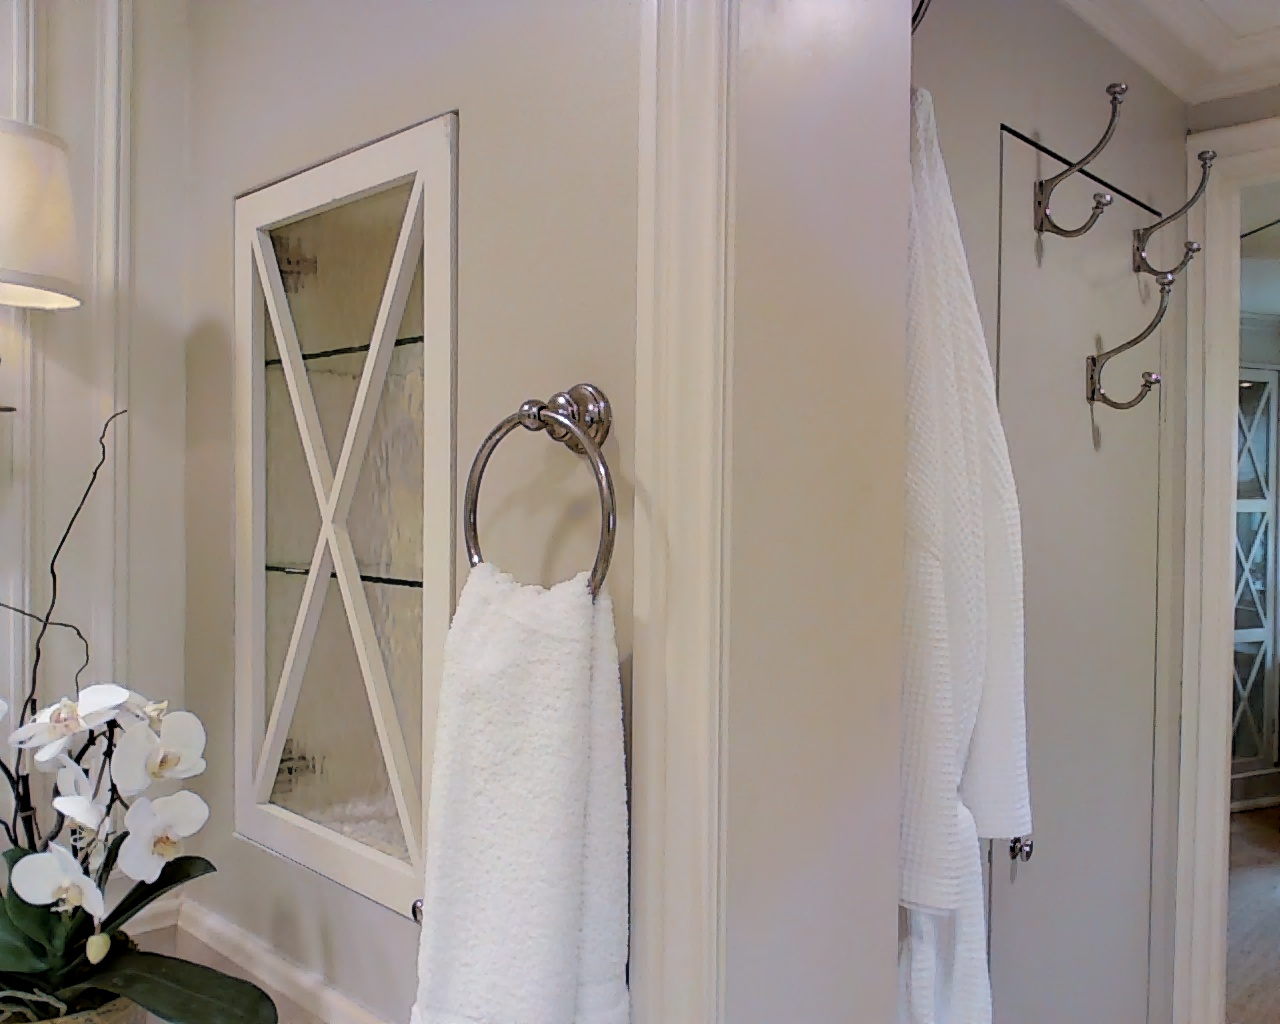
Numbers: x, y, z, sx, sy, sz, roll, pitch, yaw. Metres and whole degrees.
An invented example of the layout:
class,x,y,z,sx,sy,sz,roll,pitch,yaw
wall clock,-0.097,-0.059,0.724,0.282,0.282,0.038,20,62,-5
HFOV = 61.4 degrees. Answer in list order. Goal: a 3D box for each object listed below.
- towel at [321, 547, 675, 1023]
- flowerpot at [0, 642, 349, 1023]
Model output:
class,x,y,z,sx,sy,sz,roll,pitch,yaw
towel,-0.100,0.250,0.730,0.200,0.440,0.140,2,1,43
flowerpot,-0.510,0.380,0.960,0.340,0.460,0.360,2,2,44
